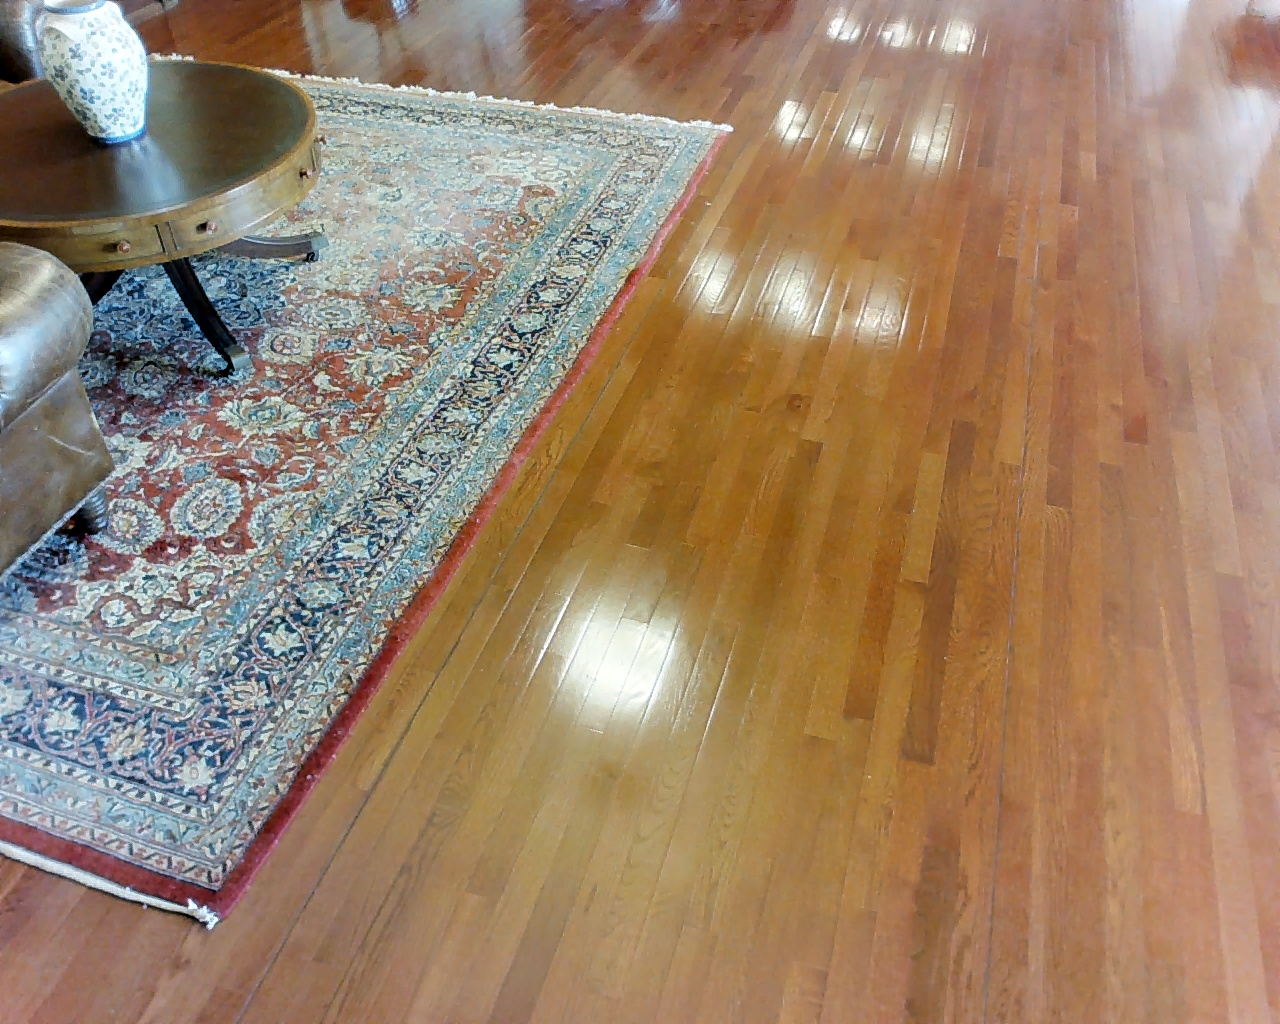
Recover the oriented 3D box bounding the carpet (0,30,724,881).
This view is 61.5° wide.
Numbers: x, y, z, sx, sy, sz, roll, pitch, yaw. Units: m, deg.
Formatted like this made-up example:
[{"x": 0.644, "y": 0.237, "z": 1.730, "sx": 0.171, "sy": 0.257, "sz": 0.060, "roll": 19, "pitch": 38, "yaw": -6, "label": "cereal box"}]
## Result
[{"x": -1.340, "y": -0.720, "z": 3.120, "sx": 2.470, "sy": 0.060, "sz": 3.270, "roll": 12, "pitch": 43, "yaw": 12, "label": "carpet"}]
